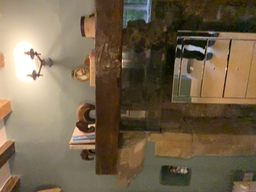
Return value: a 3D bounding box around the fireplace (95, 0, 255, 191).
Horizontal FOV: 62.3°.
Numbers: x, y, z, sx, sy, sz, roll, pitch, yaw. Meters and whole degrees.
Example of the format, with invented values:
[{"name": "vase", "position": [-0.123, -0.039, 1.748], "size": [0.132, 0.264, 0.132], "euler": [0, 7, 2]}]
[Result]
[{"name": "fireplace", "position": [0.660, -0.270, 1.970], "size": [0.860, 1.790, 2.110], "euler": [-89, 2, -74]}]
